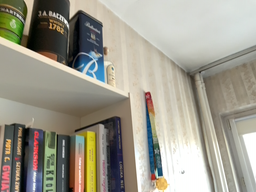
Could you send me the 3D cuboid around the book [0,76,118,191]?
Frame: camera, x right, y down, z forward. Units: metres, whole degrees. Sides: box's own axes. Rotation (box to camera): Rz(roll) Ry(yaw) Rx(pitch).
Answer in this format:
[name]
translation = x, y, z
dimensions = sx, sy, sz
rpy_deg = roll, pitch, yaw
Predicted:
[book]
translation = -0.260, 0.150, 0.480
dimensions = 0.210, 0.280, 0.500
rpy_deg = -19, -28, 30
